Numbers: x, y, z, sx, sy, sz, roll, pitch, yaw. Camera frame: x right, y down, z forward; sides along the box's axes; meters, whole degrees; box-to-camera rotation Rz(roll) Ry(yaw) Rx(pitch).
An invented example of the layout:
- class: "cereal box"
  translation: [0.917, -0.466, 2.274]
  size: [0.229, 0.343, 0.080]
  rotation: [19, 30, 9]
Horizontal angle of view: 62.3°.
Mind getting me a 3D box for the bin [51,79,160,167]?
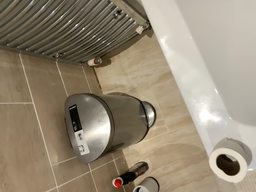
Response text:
- class: "bin"
  translation: [-0.070, 0.110, 1.000]
  size: [0.230, 0.470, 0.270]
  rotation: [-24, 78, 24]
